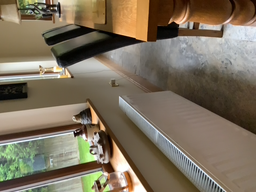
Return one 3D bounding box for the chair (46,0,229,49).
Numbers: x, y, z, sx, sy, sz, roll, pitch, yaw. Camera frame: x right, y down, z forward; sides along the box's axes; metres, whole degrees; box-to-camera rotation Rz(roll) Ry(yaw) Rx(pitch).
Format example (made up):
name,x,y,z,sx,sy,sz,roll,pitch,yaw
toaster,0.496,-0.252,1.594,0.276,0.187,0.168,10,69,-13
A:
name,x,y,z,sx,sy,sz,roll,pitch,yaw
chair,0.060,-0.630,1.290,0.440,1.040,0.600,-145,52,-61
